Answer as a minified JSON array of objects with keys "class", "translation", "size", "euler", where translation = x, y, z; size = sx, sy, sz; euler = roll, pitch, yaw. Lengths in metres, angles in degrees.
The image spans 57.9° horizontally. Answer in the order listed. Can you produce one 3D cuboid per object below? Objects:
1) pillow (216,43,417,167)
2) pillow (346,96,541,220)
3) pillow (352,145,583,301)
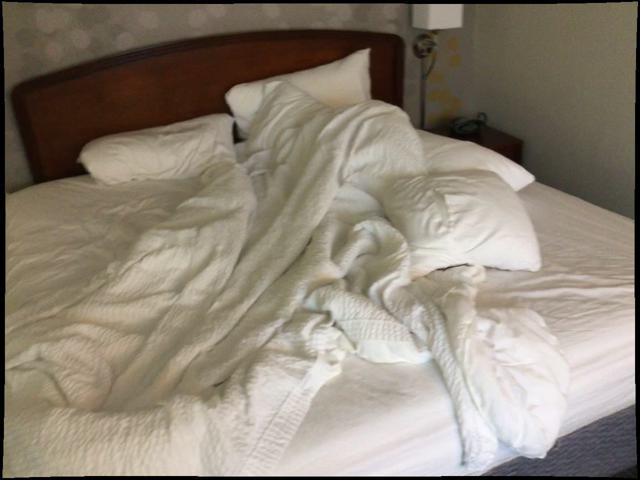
[{"class":"pillow","translation":[-0.020,-0.641,2.630],"size":[0.759,0.340,0.490],"euler":[-14,30,-19]},{"class":"pillow","translation":[0.420,-0.340,2.170],"size":[0.380,0.190,0.700],"euler":[-14,30,-19]},{"class":"pillow","translation":[0.410,-0.080,1.720],"size":[0.470,0.200,0.460],"euler":[-14,30,-19]}]
